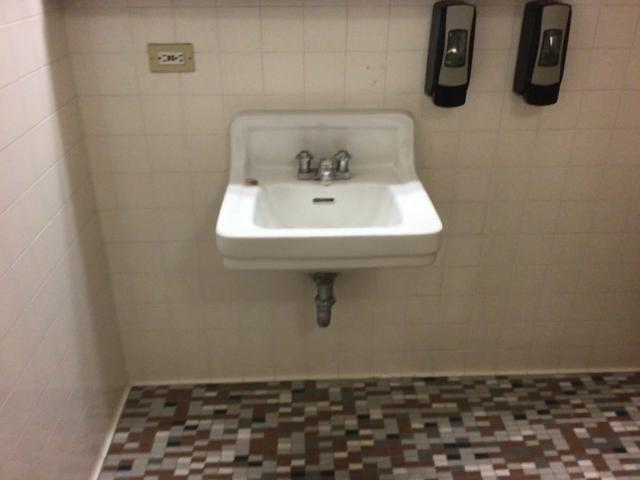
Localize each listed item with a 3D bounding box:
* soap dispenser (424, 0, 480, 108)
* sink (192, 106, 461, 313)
[{"bbox_3d":[0.330,-0.470,1.460,0.100,0.250,0.090,-2,26,-1],"label":"soap dispenser"},{"bbox_3d":[0.010,-0.100,1.440,0.540,0.350,0.460,-2,26,-1],"label":"sink"}]
